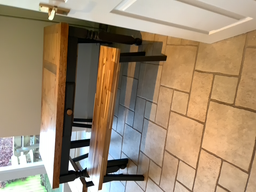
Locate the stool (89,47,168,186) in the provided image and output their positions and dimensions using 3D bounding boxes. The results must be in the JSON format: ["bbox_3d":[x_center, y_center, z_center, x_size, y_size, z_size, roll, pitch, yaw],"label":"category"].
[{"bbox_3d":[-0.020,0.160,1.850,0.330,0.450,1.090,26,112,56],"label":"stool"}]

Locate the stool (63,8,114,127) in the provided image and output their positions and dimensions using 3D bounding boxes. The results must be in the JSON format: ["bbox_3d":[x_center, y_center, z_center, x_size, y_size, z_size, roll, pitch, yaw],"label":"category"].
[{"bbox_3d":[-0.510,-0.320,2.660,0.290,0.440,1.360,25,111,56],"label":"stool"}]
